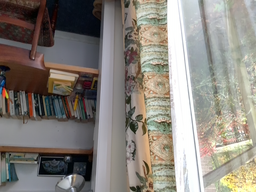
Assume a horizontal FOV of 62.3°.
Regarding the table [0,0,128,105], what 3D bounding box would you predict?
[{"bbox_3d":[-0.760,-0.440,1.680,1.390,0.750,0.610,6,157,-17],"label":"table"}]
